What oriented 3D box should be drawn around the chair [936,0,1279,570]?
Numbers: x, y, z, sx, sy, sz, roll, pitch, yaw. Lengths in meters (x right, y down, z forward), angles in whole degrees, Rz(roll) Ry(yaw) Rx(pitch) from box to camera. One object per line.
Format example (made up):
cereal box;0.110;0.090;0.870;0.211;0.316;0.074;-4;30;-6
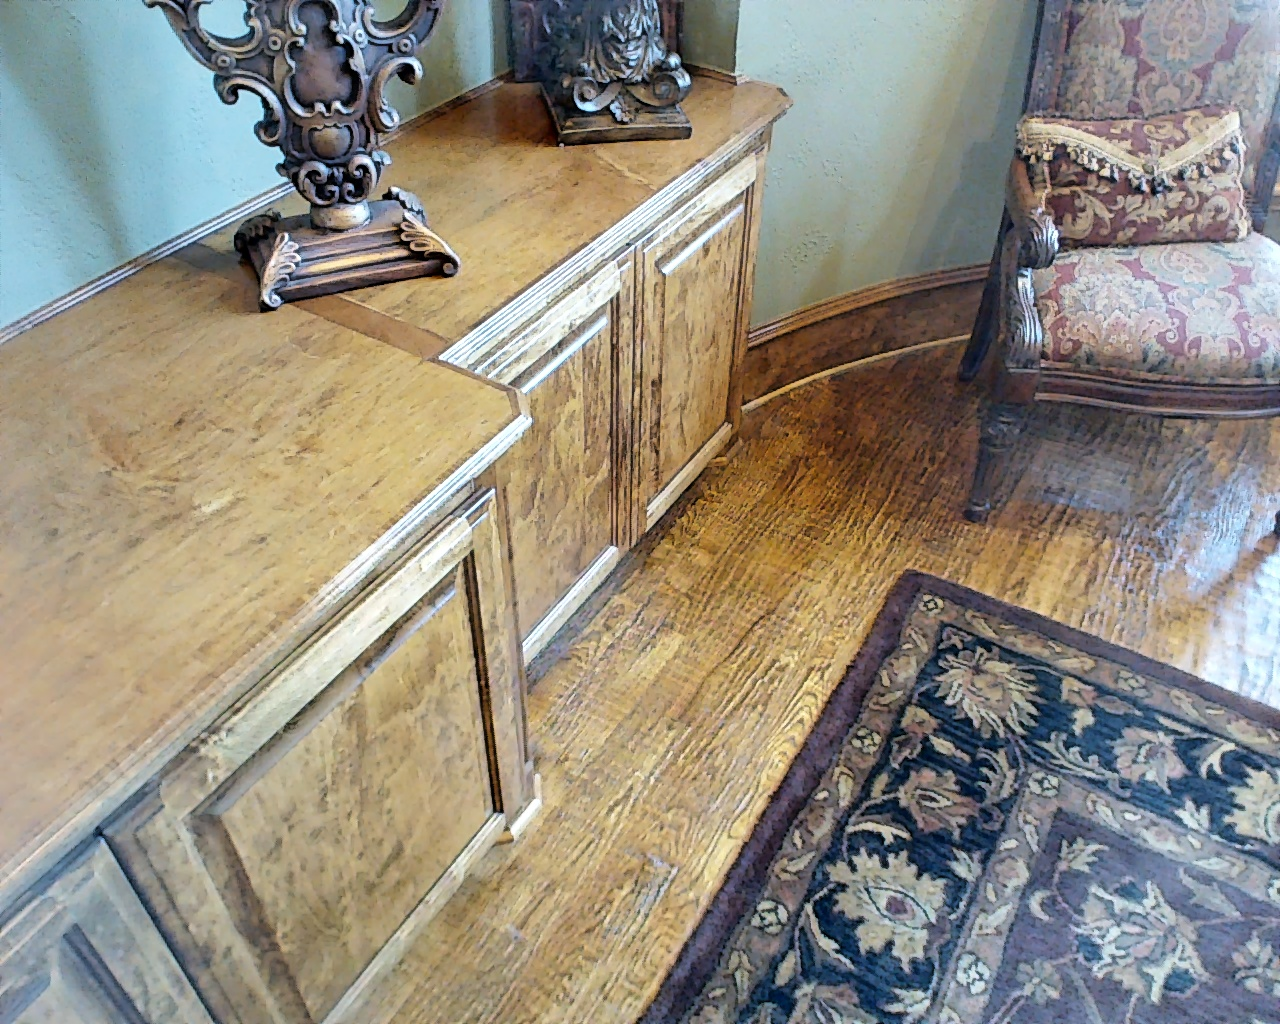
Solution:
chair;1.110;-0.600;2.110;0.770;1.200;0.730;7;43;6
